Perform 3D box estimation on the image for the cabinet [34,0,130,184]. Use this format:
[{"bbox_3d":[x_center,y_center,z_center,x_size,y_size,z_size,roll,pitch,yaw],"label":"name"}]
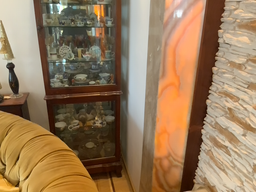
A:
[{"bbox_3d":[-0.360,-0.160,1.840,0.650,1.920,0.350,-4,22,-14],"label":"cabinet"}]
